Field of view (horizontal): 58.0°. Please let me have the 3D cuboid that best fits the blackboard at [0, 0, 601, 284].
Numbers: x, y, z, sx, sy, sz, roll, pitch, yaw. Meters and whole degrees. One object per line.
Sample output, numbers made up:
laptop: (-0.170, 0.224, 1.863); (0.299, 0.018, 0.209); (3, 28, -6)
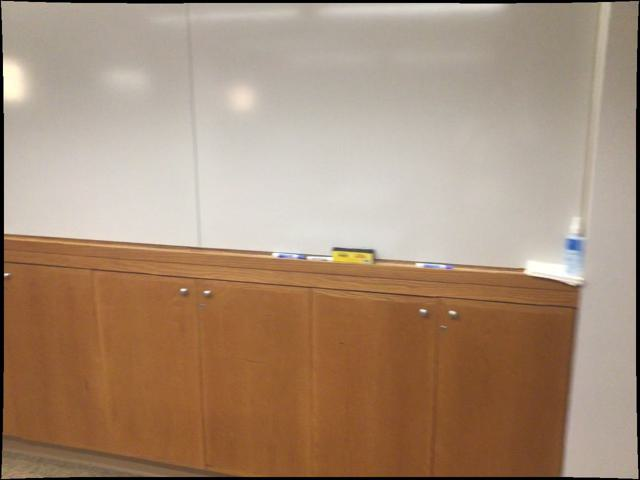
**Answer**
blackboard: (-0.509, -0.601, 2.060); (2.744, 1.363, 0.170); (2, 10, 11)
